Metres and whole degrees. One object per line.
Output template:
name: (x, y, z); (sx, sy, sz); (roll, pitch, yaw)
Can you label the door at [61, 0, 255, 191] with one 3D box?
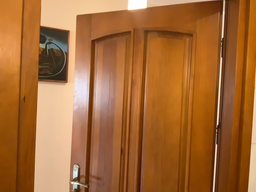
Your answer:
door: (0.060, 0.570, 1.110); (0.980, 2.140, 0.070); (4, 2, 23)
